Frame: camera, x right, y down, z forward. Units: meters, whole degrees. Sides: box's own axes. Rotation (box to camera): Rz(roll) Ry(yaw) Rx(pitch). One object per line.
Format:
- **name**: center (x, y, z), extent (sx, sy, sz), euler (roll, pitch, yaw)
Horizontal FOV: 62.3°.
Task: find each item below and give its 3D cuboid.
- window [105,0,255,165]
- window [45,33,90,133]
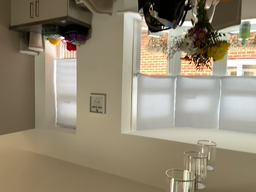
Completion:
- **window**: center (0.970, -0.240, 2.280), extent (2.220, 1.480, 1.060), euler (4, -176, 33)
- **window**: center (-0.870, -0.180, 2.980), extent (0.720, 1.270, 0.180), euler (4, -175, 34)
